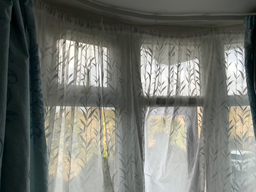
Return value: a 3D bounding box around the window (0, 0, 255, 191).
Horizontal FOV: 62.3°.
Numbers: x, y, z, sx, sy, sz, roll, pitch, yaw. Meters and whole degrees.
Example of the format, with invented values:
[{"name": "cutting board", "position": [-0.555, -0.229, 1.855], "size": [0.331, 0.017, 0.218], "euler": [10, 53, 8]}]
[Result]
[{"name": "window", "position": [-0.220, 0.240, 0.580], "size": [0.840, 1.580, 2.420], "euler": [-6, -8, 42]}]
